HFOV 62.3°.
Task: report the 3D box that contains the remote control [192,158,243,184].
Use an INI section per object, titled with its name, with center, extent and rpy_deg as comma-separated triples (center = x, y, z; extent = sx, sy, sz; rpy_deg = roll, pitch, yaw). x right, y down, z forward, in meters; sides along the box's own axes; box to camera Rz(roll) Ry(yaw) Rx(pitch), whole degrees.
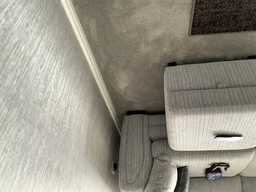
[remote control]
center = 0.730, 0.640, 1.780
extent = 0.220, 0.070, 0.420
rpy_deg = 8, 143, -5
